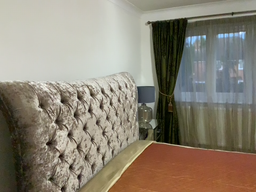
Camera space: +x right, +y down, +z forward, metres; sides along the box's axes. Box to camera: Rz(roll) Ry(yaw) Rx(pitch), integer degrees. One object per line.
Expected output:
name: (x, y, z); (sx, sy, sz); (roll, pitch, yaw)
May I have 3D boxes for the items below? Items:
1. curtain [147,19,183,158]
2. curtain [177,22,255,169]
curtain: (0.610, -0.090, 3.460); (0.530, 2.150, 0.180); (1, 8, 22)
curtain: (1.490, 0.020, 3.130); (1.470, 2.060, 0.150); (1, 8, 21)
